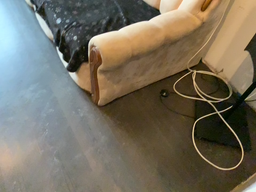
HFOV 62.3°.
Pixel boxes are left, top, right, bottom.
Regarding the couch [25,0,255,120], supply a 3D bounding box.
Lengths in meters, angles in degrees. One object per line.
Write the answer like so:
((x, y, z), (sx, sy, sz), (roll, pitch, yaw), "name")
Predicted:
((-0.190, -1.010, 1.500), (1.030, 1.000, 1.880), (-21, 58, -24), "couch")
